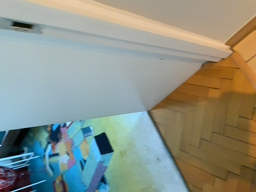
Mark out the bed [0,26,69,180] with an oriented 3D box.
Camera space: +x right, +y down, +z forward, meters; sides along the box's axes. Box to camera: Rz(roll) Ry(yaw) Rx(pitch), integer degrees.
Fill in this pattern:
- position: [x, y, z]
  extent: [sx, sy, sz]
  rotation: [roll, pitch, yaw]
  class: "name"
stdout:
- position: [-1.650, 0.290, 3.030]
  extent: [2.340, 0.480, 0.940]
  rotation: [-49, 59, 36]
  class: "bed"
